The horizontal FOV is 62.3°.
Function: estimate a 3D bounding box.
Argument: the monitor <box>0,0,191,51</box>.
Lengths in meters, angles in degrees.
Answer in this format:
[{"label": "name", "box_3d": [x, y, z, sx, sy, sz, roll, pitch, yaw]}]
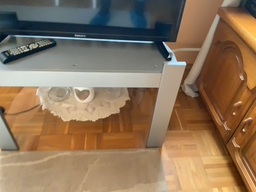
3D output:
[{"label": "monitor", "box_3d": [-0.160, -0.380, 0.680, 0.750, 0.460, 0.050, 2, 42, -3]}]
